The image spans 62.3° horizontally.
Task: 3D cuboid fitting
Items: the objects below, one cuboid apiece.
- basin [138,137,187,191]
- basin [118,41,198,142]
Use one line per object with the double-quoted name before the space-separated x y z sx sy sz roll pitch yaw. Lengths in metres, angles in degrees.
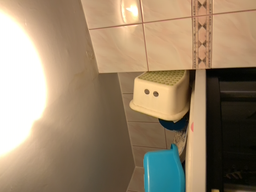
"basin" 0.140 0.330 0.810 0.220 0.140 0.310 42 -128 -65
"basin" 0.160 -0.020 0.930 0.280 0.270 0.310 70 -151 -46
